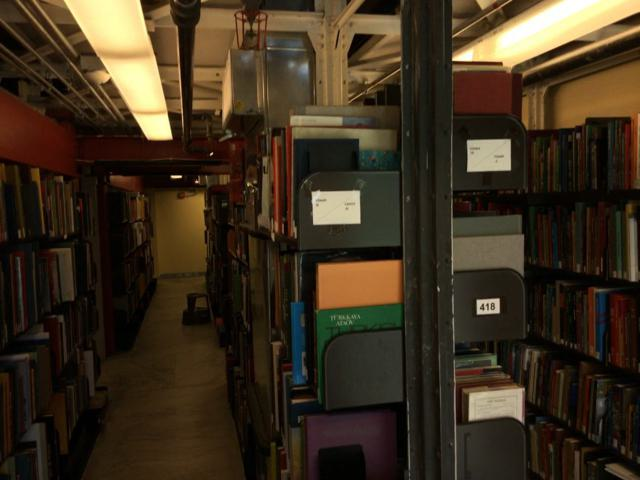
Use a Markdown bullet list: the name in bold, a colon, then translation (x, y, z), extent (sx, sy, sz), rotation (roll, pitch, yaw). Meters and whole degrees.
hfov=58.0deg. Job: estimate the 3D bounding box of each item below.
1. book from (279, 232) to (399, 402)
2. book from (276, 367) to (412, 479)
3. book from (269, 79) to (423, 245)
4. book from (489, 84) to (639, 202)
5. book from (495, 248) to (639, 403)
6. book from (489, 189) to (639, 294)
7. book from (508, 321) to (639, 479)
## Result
- **book**: translation (0.050, 0.190, 1.500), extent (0.280, 0.400, 0.100), rotation (-4, 5, -13)
- **book**: translation (0.060, 0.570, 1.500), extent (0.300, 0.400, 0.190), rotation (-4, 5, -13)
- **book**: translation (0.060, -0.190, 1.420), extent (0.330, 0.370, 0.170), rotation (-4, 5, -13)
- **book**: translation (1.190, -0.380, 2.400), extent (0.170, 0.430, 1.560), rotation (-4, 5, -13)
- **book**: translation (1.280, 0.350, 2.430), extent (0.290, 0.480, 1.540), rotation (-4, 5, -13)
- **book**: translation (1.270, -0.020, 2.450), extent (0.310, 0.380, 1.580), rotation (-4, 5, -13)
- **book**: translation (1.330, 0.710, 2.400), extent (0.340, 0.420, 1.430), rotation (-4, 5, -13)
